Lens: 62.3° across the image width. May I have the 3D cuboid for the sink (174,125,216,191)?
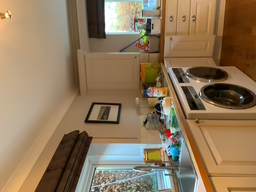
[{"bbox_3d":[0.470,0.590,1.590,0.540,0.110,0.530,-86,-4,-65],"label":"sink"}]

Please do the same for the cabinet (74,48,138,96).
[{"bbox_3d":[-0.340,-0.420,3.640,0.410,1.010,0.750,-84,-6,-73],"label":"cabinet"}]
